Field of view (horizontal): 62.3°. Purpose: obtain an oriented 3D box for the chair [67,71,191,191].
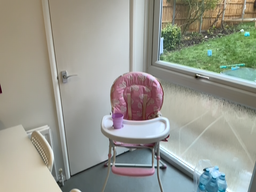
[{"bbox_3d":[0.030,0.390,1.650,0.650,0.990,0.760,2,22,4],"label":"chair"}]
